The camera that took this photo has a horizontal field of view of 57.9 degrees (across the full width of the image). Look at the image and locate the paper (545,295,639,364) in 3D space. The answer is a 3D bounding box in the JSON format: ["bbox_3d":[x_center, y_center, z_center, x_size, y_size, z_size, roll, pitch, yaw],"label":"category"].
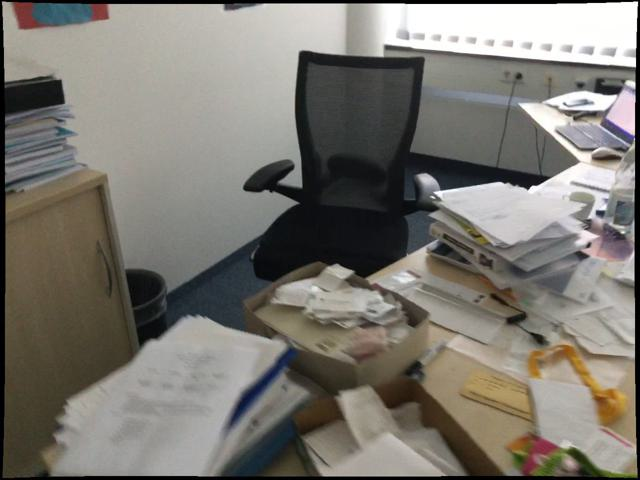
[{"bbox_3d":[0.609,0.190,1.200,0.240,0.010,0.150,16,33,28],"label":"paper"}]

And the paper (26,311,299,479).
[{"bbox_3d":[-0.230,0.260,0.920,0.240,0.050,0.350,16,33,28],"label":"paper"}]
